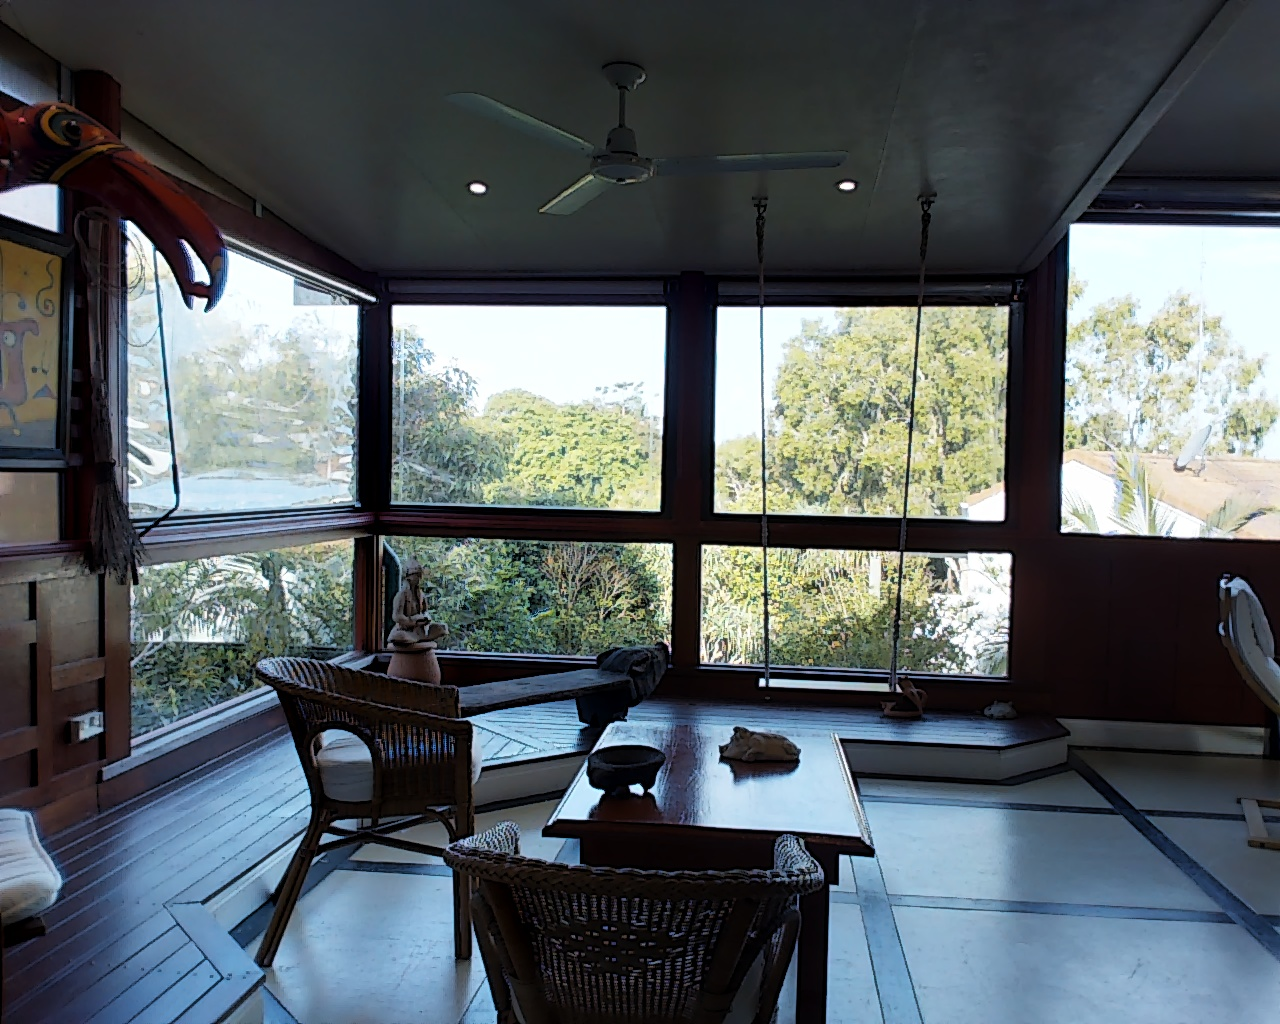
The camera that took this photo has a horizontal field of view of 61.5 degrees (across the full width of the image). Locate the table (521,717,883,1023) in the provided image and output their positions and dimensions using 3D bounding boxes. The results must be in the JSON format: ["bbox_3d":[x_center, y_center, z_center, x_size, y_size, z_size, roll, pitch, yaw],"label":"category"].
[{"bbox_3d":[0.200,0.950,2.890,0.780,0.520,1.100,2,2,8],"label":"table"}]
